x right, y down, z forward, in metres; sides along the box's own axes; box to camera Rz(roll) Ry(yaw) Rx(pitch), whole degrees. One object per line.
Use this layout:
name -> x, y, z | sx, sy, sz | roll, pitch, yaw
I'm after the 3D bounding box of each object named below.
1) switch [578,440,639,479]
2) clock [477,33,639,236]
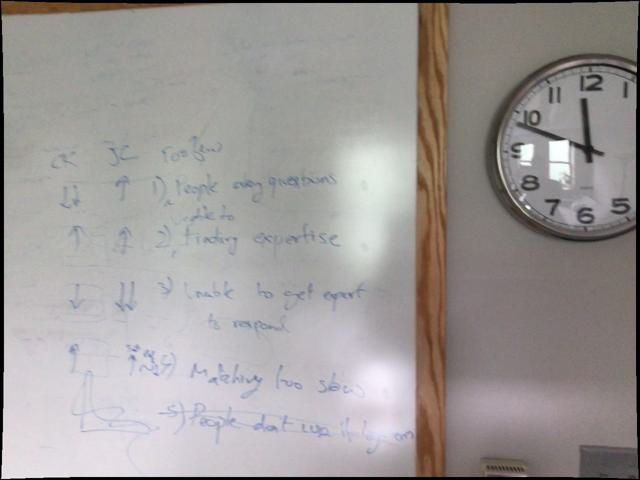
switch -> 0.519, 0.411, 1.010 | 0.120, 0.110, 0.020 | 0, 6, 8
clock -> 0.439, -0.170, 0.970 | 0.329, 0.321, 0.060 | 0, 6, 8
